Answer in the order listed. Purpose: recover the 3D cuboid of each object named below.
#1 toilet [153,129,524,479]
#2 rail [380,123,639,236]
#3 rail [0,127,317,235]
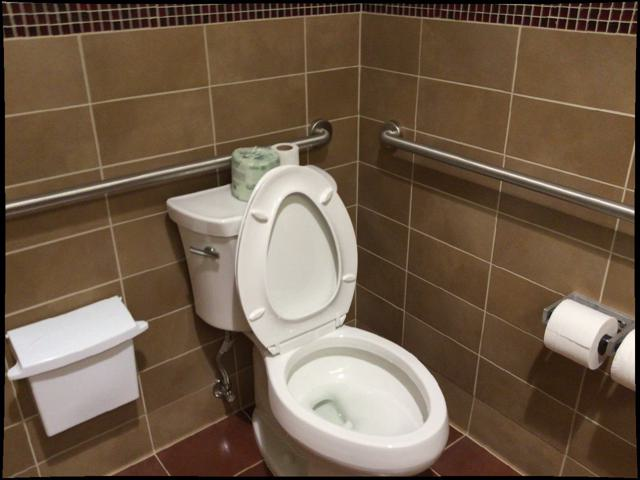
[{"bbox_3d":[0.000,0.260,1.470,0.420,0.861,0.780,-20,32,-32],"label":"toilet"},{"bbox_3d":[0.579,-0.090,1.240,0.070,0.060,1.240,-20,32,-32],"label":"rail"},{"bbox_3d":[-0.370,-0.170,1.450,0.840,0.050,0.090,-20,32,-32],"label":"rail"}]
